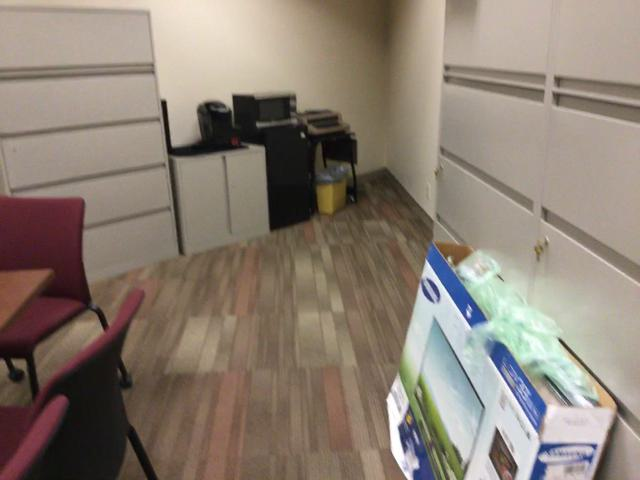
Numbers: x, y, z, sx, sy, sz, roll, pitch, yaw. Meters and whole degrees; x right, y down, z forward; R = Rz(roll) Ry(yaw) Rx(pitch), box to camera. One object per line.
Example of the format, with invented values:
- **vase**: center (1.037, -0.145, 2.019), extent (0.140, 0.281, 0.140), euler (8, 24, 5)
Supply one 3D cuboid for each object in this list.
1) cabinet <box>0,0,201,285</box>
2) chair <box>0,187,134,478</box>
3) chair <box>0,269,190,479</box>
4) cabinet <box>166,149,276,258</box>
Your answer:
- **cabinet**: center (-1.340, -0.590, 3.410), extent (1.120, 1.510, 0.340), euler (-9, 17, -29)
- **chair**: center (-1.120, 0.280, 2.150), extent (0.560, 0.830, 0.760), euler (0, 15, -1)
- **chair**: center (-0.680, 0.550, 1.370), extent (0.600, 0.820, 0.570), euler (0, 15, -1)
- **cabinet**: center (-0.690, -0.280, 4.090), extent (0.650, 0.660, 0.350), euler (-10, 18, -32)
